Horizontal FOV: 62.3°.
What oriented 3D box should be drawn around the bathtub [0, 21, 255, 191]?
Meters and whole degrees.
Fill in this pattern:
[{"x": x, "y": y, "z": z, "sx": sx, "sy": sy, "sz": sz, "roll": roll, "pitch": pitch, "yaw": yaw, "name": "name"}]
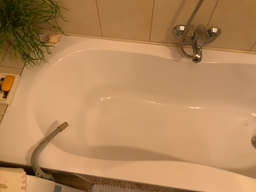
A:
[{"x": 0.160, "y": 0.160, "z": 1.210, "sx": 1.740, "sy": 0.610, "sz": 0.680, "roll": 9, "pitch": 64, "yaw": 5, "name": "bathtub"}]
